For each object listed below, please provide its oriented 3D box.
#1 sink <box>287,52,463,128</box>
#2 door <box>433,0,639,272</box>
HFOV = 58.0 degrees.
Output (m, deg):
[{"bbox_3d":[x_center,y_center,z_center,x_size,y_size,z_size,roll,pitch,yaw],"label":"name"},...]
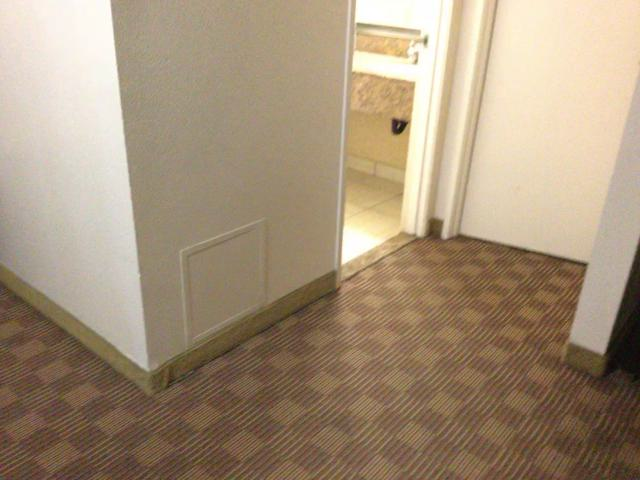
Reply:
[{"bbox_3d":[0.320,-0.900,3.370,0.750,0.280,0.680,20,27,34],"label":"sink"},{"bbox_3d":[1.060,-0.830,2.550,0.750,1.920,0.110,18,28,22],"label":"door"}]
